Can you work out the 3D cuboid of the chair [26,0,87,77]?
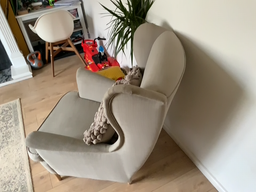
[{"bbox_3d":[-0.960,-0.790,2.900,0.490,0.790,0.530,-21,41,-19],"label":"chair"}]
